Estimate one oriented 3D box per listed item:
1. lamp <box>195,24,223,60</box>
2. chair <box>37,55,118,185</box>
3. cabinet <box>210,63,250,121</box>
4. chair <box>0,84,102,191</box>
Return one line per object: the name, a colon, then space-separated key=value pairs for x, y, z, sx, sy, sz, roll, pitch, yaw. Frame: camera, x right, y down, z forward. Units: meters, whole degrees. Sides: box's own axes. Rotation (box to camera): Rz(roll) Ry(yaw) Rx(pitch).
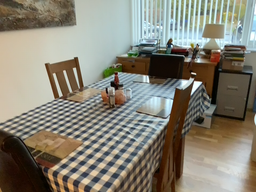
lamp: x=1.120 y=-0.760 z=2.940 sx=0.290 sy=0.450 sz=0.240 roll=9 pitch=24 yaw=26
chair: x=-0.410 y=0.190 z=1.880 sx=0.490 sy=1.010 sz=0.340 roll=11 pitch=25 yaw=30
cabinet: x=1.420 y=-0.080 z=2.960 sx=0.390 sy=0.650 sz=0.500 roll=10 pitch=24 yaw=27
chair: x=-0.460 y=0.500 z=1.130 sx=0.400 sy=0.980 sz=0.510 roll=10 pitch=24 yaw=27
